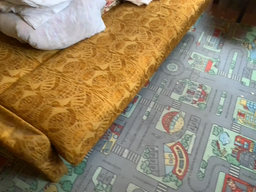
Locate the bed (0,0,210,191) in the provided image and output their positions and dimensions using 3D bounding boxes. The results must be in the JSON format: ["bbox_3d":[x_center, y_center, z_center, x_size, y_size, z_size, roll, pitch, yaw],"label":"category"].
[{"bbox_3d":[-0.230,-0.540,1.800,1.230,0.420,2.210,26,56,17],"label":"bed"}]
